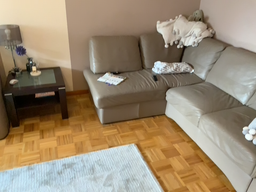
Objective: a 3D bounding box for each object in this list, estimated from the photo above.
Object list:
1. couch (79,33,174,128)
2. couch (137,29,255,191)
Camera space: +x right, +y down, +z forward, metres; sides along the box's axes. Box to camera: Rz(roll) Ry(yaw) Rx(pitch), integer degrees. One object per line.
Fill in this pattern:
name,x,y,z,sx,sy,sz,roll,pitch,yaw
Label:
couch,-0.090,-0.270,2.700,0.870,0.830,0.920,-7,30,-18
couch,0.980,-0.060,2.390,0.910,0.860,2.340,-7,30,-18
